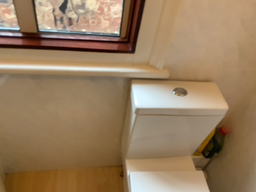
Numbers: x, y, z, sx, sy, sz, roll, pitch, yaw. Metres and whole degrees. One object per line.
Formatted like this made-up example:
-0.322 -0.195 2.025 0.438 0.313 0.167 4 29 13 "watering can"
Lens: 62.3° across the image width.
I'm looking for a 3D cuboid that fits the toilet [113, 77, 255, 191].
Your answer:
0.190 0.450 0.930 0.380 0.780 0.710 0 46 -12 "toilet"
